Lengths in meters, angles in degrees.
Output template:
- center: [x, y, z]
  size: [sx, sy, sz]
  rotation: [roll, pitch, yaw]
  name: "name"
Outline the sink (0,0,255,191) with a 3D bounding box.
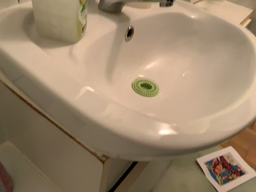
- center: [0.080, -0.080, 0.440]
  size: [0.380, 0.140, 0.510]
  rotation: [31, 44, 19]
  name: "sink"
